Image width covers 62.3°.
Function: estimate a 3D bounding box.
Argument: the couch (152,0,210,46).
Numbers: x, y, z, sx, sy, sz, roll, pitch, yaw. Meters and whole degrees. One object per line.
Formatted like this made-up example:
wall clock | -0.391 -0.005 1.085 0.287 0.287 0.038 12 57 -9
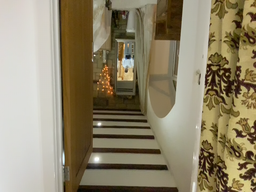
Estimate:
couch | 0.750 -1.190 3.270 0.580 0.760 1.060 1 -169 -2
